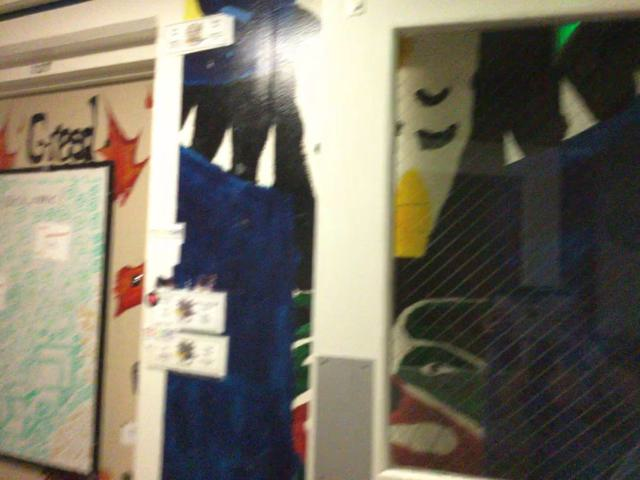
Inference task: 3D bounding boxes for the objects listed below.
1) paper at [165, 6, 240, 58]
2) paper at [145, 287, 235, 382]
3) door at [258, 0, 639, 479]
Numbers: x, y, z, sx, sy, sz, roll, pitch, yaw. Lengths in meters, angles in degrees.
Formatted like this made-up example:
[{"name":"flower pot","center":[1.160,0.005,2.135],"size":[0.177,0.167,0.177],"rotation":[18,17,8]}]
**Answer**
[{"name":"paper","center":[-0.280,-0.490,1.370],"size":[0.200,0.090,0.020],"rotation":[2,-3,27]},{"name":"paper","center":[-0.300,0.210,1.320],"size":[0.230,0.190,0.020],"rotation":[2,-3,27]},{"name":"door","center":[0.330,0.530,0.880],"size":[0.850,2.140,0.270],"rotation":[2,-3,27]}]
